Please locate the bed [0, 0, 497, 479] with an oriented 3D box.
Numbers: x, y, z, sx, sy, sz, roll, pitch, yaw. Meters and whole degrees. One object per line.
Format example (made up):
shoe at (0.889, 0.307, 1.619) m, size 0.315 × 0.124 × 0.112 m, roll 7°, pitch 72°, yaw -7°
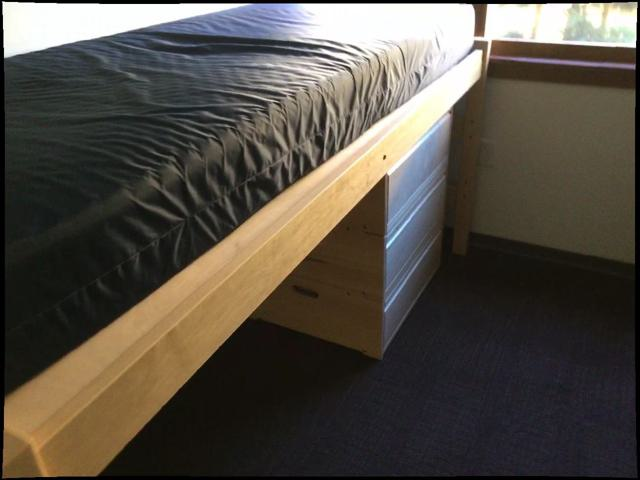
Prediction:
bed at (-0.289, -0.040, 1.800) m, size 1.128 × 1.102 × 2.270 m, roll 11°, pitch 33°, yaw 23°
